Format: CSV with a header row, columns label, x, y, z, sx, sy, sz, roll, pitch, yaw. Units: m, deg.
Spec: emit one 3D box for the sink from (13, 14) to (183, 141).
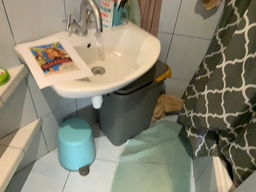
label,x,y,z,sx,sy,sz,roll,pitch,yaw
sink,-0.120,-0.150,1.010,0.610,0.190,0.440,-30,56,-33
